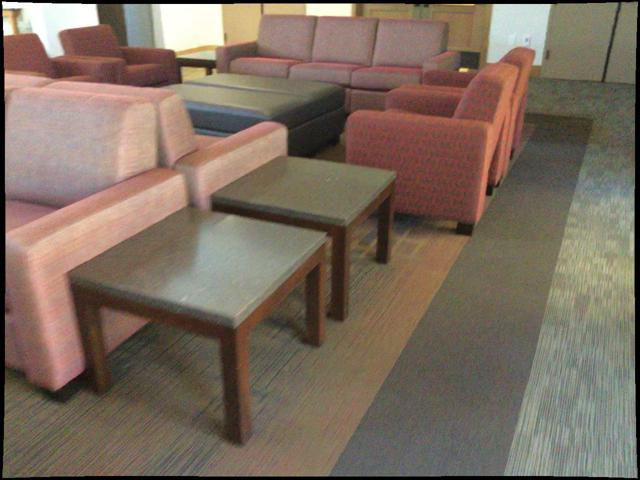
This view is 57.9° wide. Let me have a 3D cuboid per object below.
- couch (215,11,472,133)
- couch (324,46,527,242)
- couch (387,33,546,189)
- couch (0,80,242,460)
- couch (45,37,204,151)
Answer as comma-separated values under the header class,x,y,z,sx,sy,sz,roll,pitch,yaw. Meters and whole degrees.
class,x,y,z,sx,sy,sz,roll,pitch,yaw
couch,0.210,-1.622,5.450,2.198,0.861,0.840,10,29,26
couch,0.619,-0.601,3.260,0.829,0.811,0.890,9,29,26
couch,0.999,-0.921,3.930,0.819,0.811,0.850,9,29,26
couch,-1.638,-0.100,2.530,2.358,0.991,0.920,10,29,26
couch,-1.748,-1.381,5.320,0.819,0.801,0.950,10,29,26
